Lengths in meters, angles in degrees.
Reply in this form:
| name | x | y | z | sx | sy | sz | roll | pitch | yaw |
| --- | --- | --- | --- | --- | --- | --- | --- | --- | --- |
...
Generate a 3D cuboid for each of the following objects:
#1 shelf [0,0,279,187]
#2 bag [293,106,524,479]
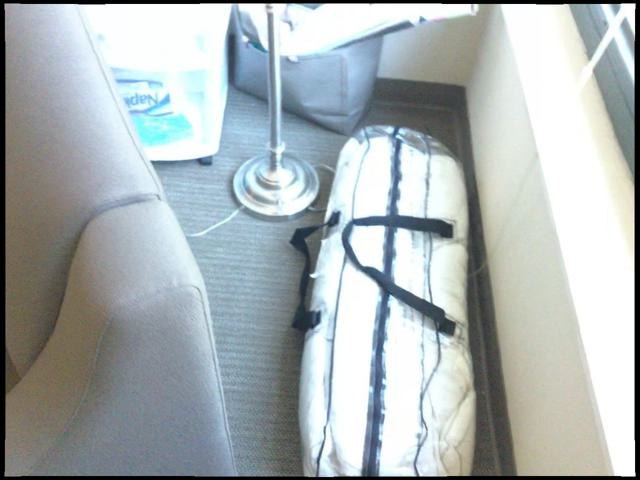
| name | x | y | z | sx | sy | sz | roll | pitch | yaw |
| --- | --- | --- | --- | --- | --- | --- | --- | --- | --- |
| shelf | -0.509 | -0.671 | 1.670 | 0.649 | 0.680 | 0.631 | 12 | 53 | 4 |
| bag | 0.190 | 0.120 | 1.420 | 0.419 | 0.230 | 1.031 | 6 | 53 | -1 |
